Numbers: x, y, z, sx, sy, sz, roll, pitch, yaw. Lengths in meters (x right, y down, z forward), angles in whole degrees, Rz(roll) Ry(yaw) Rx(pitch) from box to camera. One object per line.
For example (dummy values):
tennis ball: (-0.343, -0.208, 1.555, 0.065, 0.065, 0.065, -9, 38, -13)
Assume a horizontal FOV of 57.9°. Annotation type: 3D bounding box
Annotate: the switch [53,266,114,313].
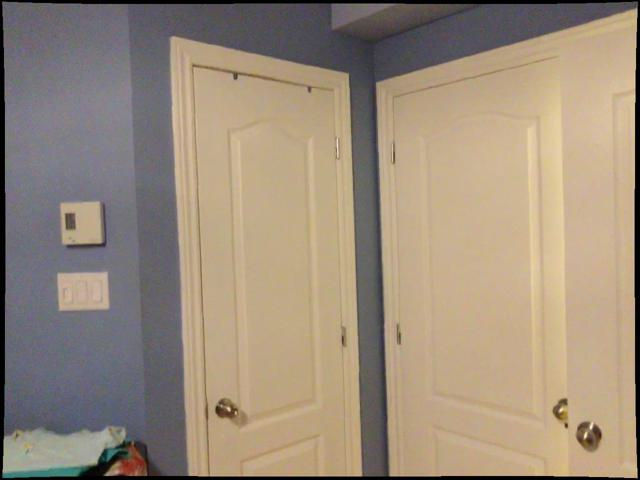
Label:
switch: (-0.719, 0.150, 1.760, 0.170, 0.130, 0.030, -3, 1, 6)
